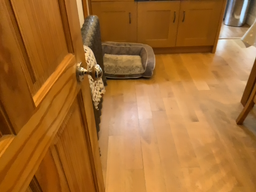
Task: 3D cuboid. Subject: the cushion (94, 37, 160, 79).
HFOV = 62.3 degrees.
[{"bbox_3d":[-0.030,-0.480,2.580,0.710,0.220,0.630,-2,37,-3],"label":"cushion"}]
